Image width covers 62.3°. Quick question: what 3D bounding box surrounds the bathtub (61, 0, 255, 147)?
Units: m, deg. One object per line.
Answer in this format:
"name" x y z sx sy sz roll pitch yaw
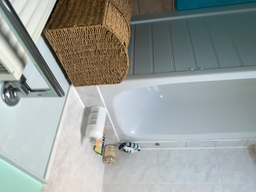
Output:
"bathtub" 0.650 -0.120 1.360 1.800 0.540 0.860 -3 143 7
